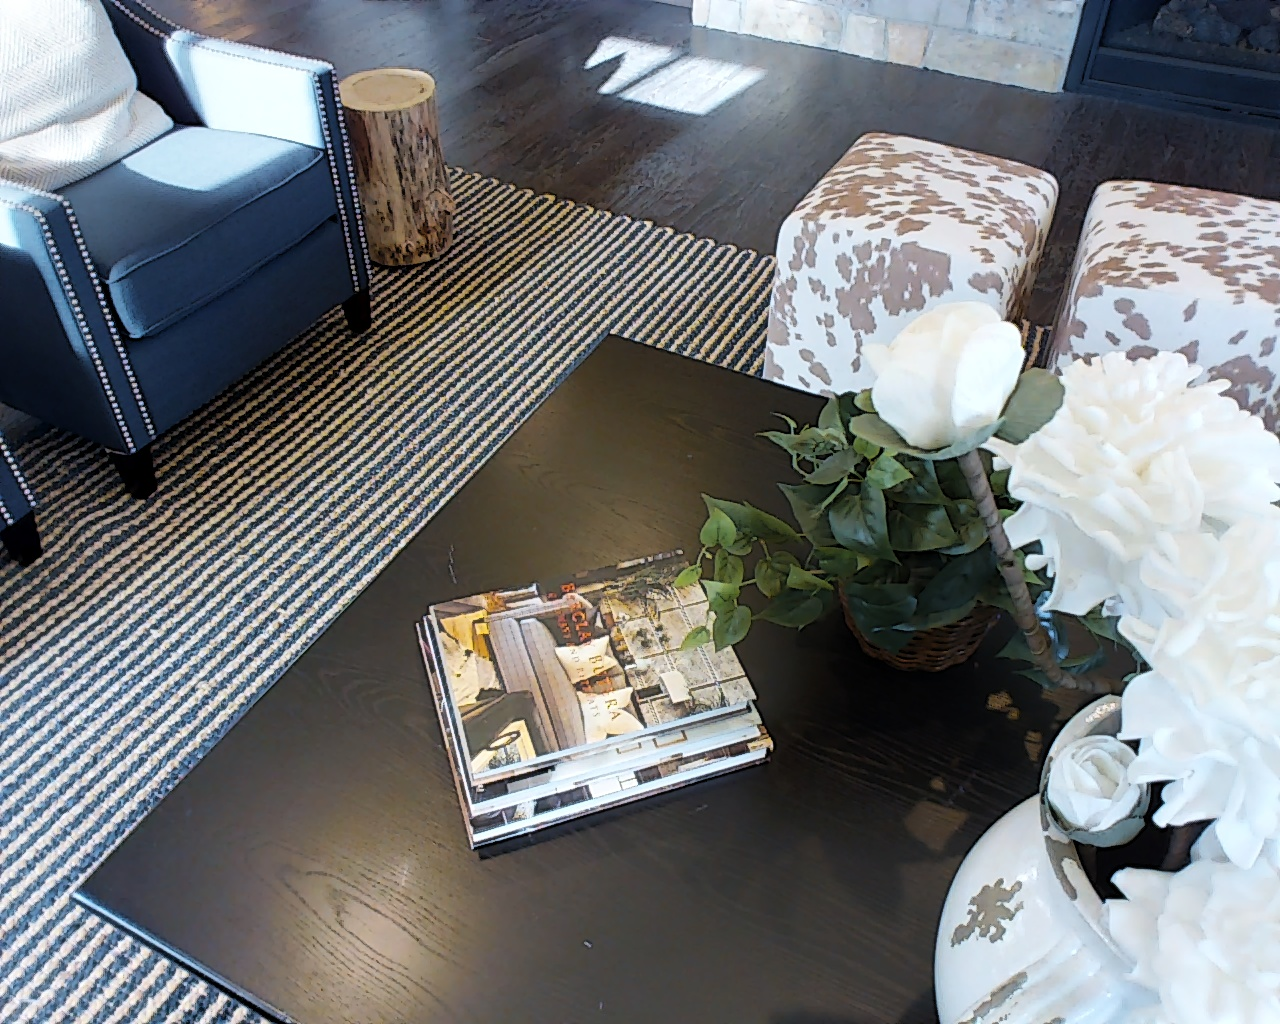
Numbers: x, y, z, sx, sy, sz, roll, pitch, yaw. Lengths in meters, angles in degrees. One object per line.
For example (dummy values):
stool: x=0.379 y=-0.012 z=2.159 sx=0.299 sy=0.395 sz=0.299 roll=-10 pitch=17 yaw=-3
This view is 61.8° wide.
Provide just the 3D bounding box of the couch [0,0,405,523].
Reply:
couch: x=-1.120 y=-0.680 z=2.180 sx=0.820 sy=0.900 sz=0.810 roll=19 pitch=46 yaw=19
